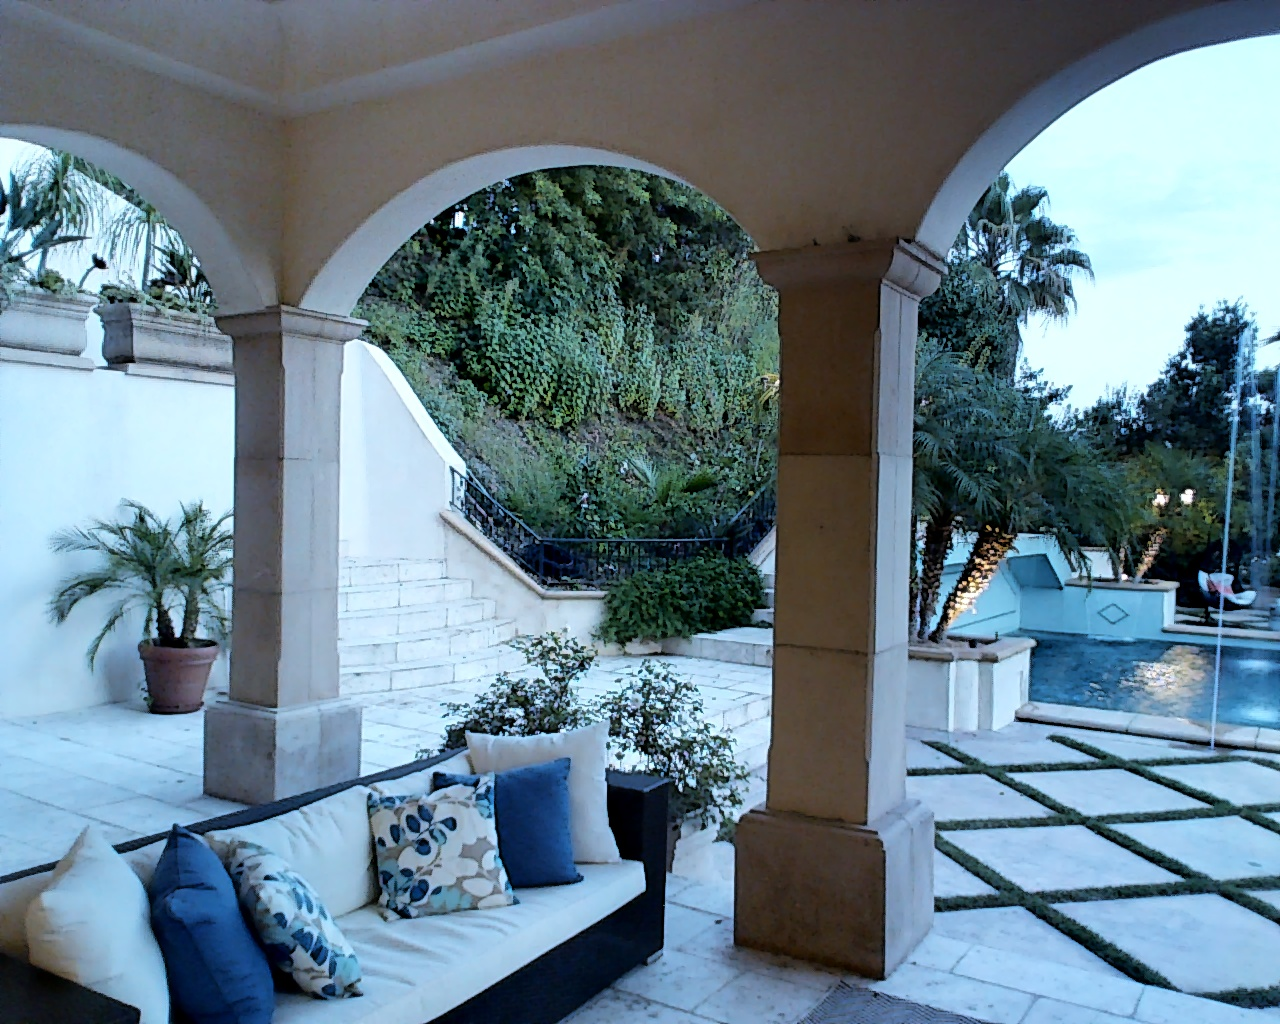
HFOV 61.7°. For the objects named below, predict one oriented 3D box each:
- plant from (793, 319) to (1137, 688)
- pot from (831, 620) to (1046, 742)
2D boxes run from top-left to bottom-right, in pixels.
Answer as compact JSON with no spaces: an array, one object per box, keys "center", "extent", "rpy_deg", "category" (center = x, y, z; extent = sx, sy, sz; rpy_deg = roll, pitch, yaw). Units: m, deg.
[{"center":[3.129,-0.100,10.020],"extent":[2.270,2.821,2.900],"rpy_deg":[2,1,33],"category":"plant"},{"center":[2.969,1.600,10.580],"extent":[1.580,0.790,1.700],"rpy_deg":[2,1,33],"category":"pot"}]
